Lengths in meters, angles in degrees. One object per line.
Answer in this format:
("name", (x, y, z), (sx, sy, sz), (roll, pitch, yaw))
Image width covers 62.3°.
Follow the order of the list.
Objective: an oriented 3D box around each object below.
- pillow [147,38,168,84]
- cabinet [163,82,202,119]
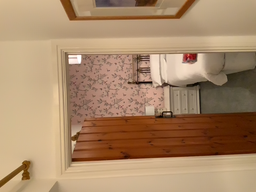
("pillow", (0.550, -0.640, 4.050), (0.500, 0.260, 0.770), (143, 126, -85))
("cabinet", (1.060, 0.090, 4.160), (0.400, 0.620, 0.680), (155, 113, -86))
